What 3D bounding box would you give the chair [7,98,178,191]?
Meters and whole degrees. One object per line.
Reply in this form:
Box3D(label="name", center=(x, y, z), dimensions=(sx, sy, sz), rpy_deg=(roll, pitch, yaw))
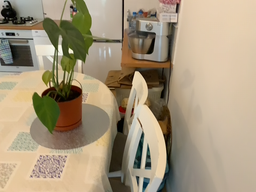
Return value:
Box3D(label="chair", center=(-0.130, 0.520, 1.050), dimensions=(0.500, 0.900, 0.470), rpy_deg=(-1, 29, -6))
